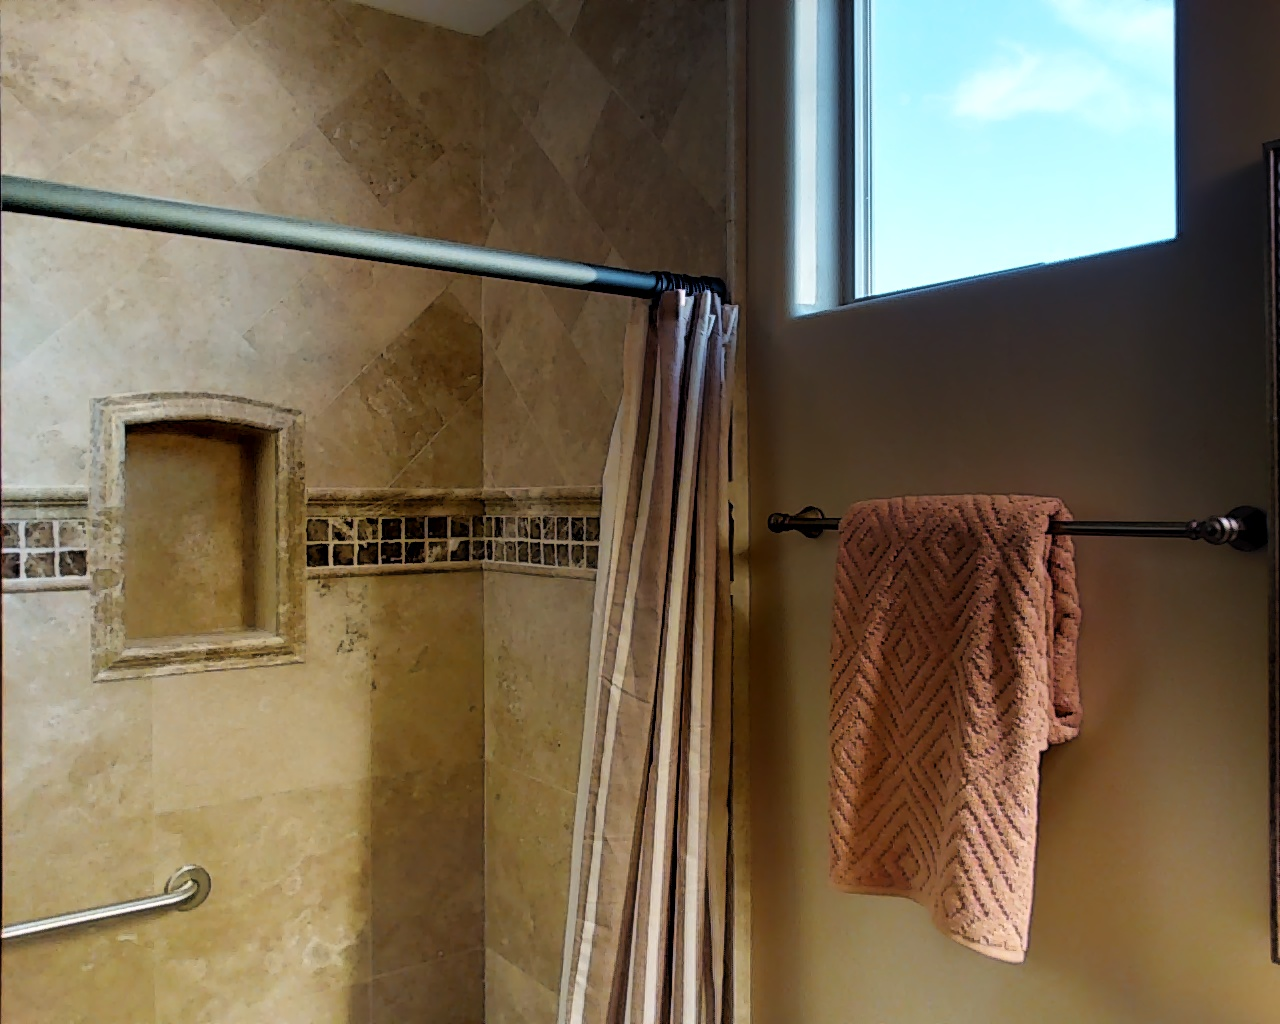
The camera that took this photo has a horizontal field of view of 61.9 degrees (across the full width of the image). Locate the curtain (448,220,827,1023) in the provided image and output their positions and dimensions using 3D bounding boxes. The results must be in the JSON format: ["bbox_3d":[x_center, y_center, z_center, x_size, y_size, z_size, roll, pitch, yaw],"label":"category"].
[{"bbox_3d":[-0.020,0.540,1.660,0.300,1.820,0.550,-1,1,-37],"label":"curtain"}]
